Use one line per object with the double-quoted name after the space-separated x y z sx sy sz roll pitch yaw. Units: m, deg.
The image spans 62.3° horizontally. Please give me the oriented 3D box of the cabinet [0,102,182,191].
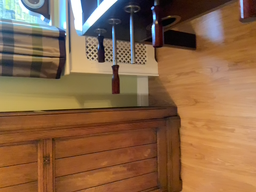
-0.460 0.460 1.380 0.410 1.840 0.790 -1 90 57 "cabinet"
